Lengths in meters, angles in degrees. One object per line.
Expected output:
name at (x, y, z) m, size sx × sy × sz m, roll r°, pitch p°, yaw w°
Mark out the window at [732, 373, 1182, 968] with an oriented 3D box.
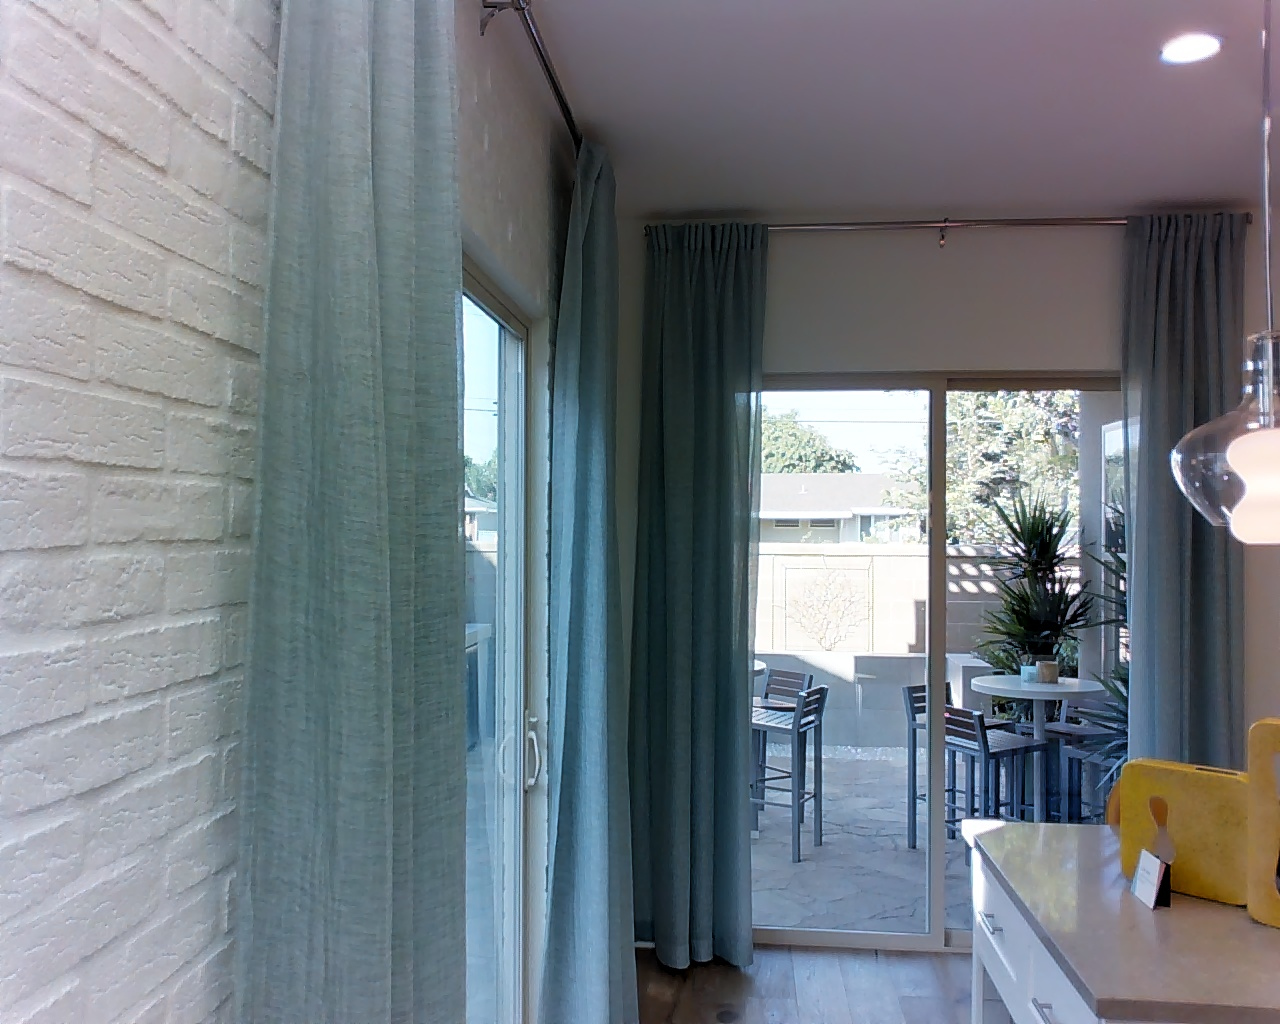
window at (1.299, 0.630, 4.540) m, size 1.789 × 2.401 × 0.260 m, roll 1°, pitch 0°, yaw 6°
